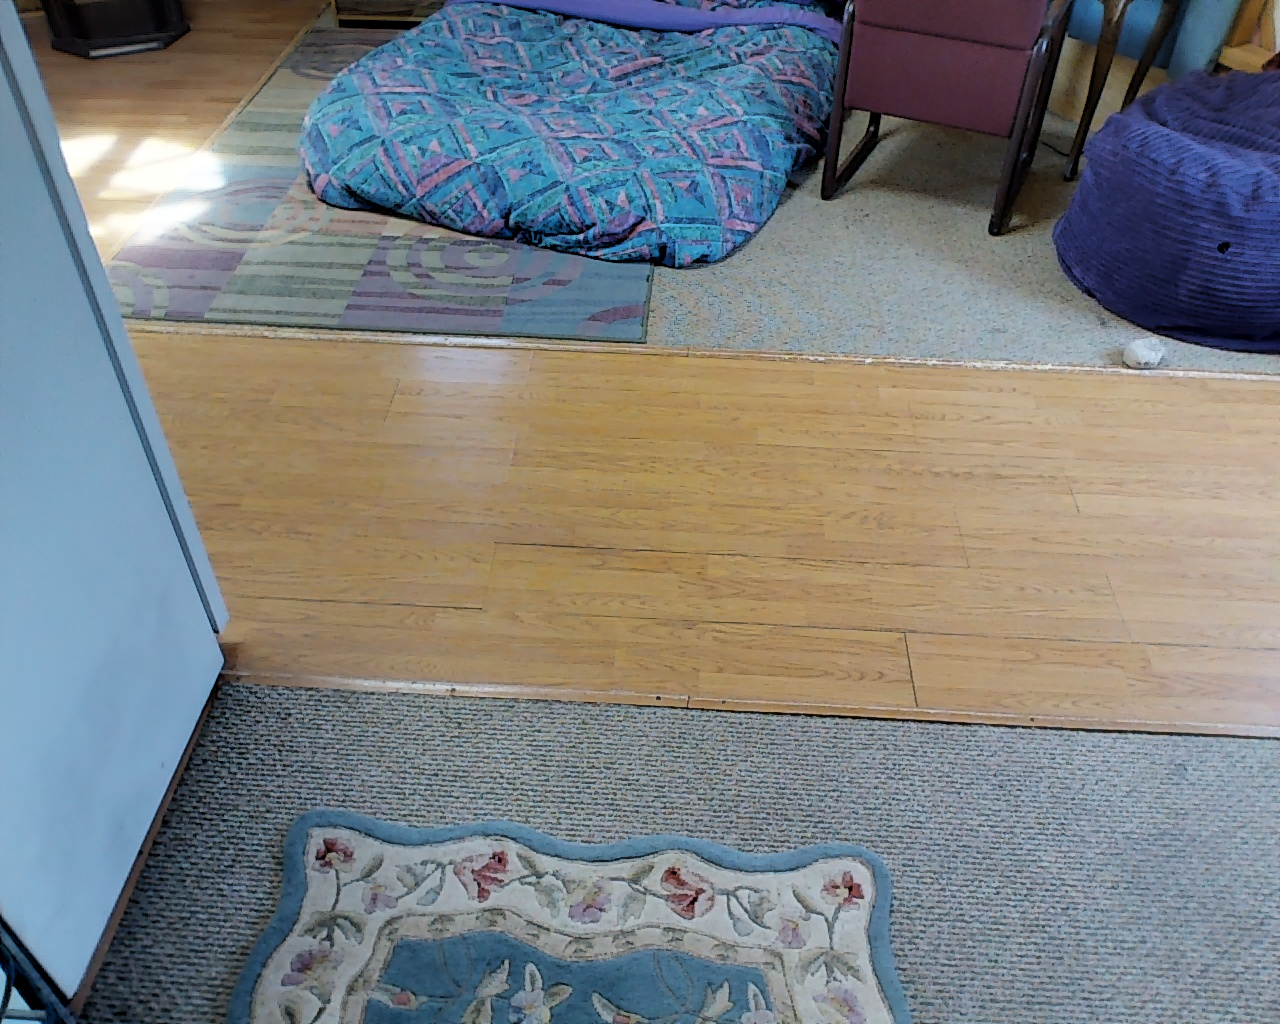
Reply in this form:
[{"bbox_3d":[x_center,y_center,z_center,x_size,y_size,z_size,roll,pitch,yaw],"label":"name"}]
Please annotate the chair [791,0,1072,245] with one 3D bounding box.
[{"bbox_3d":[0.930,-1.430,3.330,0.650,0.840,0.720,16,44,16],"label":"chair"}]
